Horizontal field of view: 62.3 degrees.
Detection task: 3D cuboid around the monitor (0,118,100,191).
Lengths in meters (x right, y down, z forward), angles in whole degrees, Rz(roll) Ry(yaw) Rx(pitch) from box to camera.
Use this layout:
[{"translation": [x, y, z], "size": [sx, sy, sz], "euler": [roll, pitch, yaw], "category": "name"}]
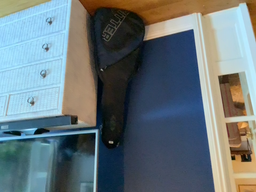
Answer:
[{"translation": [-0.690, 0.530, 1.320], "size": [1.090, 0.700, 0.050], "euler": [-7, 160, 18], "category": "monitor"}]
